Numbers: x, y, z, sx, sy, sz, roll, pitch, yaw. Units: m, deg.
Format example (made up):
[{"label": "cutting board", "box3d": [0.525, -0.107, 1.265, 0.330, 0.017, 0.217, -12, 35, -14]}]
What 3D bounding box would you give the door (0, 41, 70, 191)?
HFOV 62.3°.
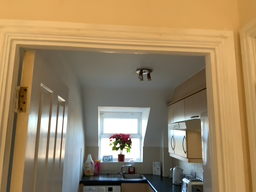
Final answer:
[{"label": "door", "box3d": [-0.470, 0.850, 1.070, 0.050, 1.980, 0.920, 1, -10, -3]}]
